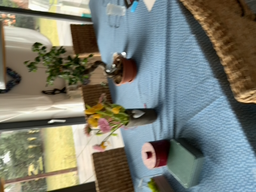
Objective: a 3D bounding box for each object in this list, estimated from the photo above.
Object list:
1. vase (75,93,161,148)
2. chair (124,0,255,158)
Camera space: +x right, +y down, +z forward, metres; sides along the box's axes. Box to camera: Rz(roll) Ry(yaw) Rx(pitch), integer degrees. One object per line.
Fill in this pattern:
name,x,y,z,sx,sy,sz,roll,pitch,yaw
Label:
vase,-0.080,0.160,1.380,0.350,0.430,0.210,-45,53,54
chair,0.590,-0.070,1.100,0.590,0.990,0.450,-52,48,51
